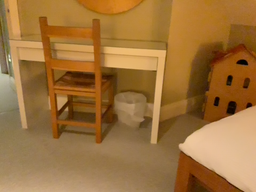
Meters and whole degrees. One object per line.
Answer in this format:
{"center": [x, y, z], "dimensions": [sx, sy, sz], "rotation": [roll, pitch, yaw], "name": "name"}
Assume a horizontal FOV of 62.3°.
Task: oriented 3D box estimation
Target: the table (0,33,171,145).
{"center": [-0.330, -0.110, 1.900], "dimensions": [1.290, 0.760, 0.530], "rotation": [5, 22, 5], "name": "table"}
